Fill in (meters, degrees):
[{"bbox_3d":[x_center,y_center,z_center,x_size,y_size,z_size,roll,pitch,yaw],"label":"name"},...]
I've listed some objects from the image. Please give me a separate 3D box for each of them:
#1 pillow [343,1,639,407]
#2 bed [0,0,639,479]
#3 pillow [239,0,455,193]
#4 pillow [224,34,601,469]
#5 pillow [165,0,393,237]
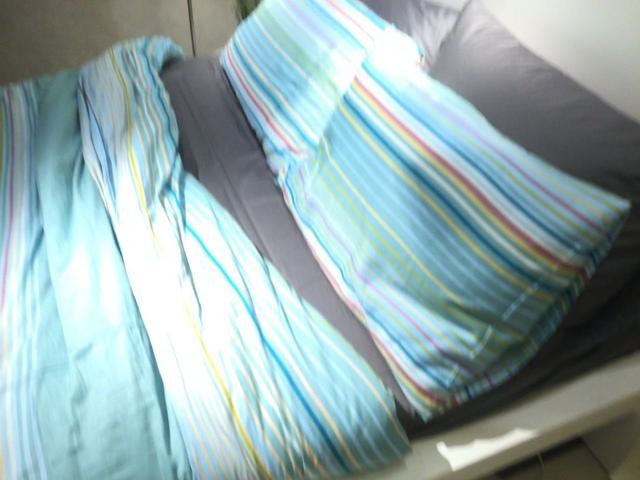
[{"bbox_3d":[0.300,-0.120,1.100,0.250,0.400,0.700,-13,43,-16],"label":"pillow"},{"bbox_3d":[-0.580,-0.060,1.210,2.210,1.050,1.720,-13,43,-16],"label":"bed"},{"bbox_3d":[0.020,-0.500,1.570,0.300,0.340,0.730,-13,43,-16],"label":"pillow"},{"bbox_3d":[0.080,-0.020,1.080,0.190,0.430,0.710,15,31,-35],"label":"pillow"},{"bbox_3d":[-0.160,-0.410,1.520,0.220,0.470,0.650,15,30,-35],"label":"pillow"}]
